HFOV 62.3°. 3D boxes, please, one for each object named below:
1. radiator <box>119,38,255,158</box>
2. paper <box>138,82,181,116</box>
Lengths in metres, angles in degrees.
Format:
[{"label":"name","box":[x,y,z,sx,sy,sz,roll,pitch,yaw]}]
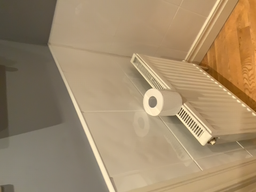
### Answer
[{"label":"radiator","box":[0.380,-0.040,1.090,0.690,0.640,0.090,55,131,39]},{"label":"paper","box":[0.120,0.010,0.830,0.120,0.100,0.070,54,131,40]}]
